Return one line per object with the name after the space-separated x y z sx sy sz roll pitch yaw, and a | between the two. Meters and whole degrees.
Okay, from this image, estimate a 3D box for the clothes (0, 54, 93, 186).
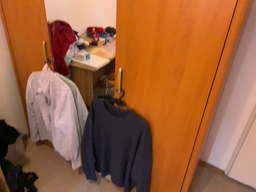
-0.600 0.200 1.670 0.640 0.890 0.210 21 36 24 | clothes

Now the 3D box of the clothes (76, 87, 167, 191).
-0.080 0.380 1.410 0.540 0.780 0.100 20 35 23 | clothes
